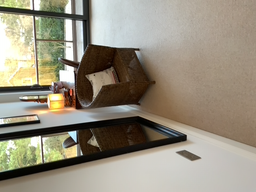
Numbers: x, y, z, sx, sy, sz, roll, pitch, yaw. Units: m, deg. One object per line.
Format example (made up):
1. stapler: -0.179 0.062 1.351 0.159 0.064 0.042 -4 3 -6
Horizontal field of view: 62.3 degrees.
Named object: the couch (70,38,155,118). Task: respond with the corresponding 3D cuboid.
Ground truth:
1. couch: -0.240 -0.220 2.660 0.660 0.740 0.680 -59 44 48
